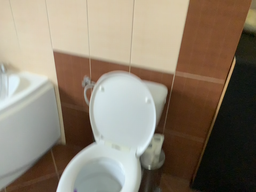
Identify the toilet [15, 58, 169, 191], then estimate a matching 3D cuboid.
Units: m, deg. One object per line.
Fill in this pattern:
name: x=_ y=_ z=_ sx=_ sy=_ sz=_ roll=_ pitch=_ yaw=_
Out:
toilet: x=-0.090 y=0.340 z=1.130 sx=0.390 sy=0.820 sz=0.710 roll=12 pitch=34 yaw=12
